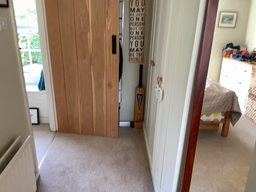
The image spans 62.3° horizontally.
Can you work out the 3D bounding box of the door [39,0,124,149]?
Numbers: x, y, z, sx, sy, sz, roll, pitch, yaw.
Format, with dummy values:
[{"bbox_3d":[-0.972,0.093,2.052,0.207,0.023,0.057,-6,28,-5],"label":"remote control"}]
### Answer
[{"bbox_3d":[-0.460,-0.410,2.300,0.790,2.150,0.210,3,22,1],"label":"door"}]
